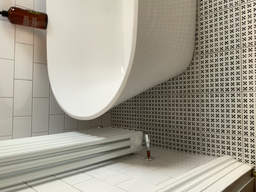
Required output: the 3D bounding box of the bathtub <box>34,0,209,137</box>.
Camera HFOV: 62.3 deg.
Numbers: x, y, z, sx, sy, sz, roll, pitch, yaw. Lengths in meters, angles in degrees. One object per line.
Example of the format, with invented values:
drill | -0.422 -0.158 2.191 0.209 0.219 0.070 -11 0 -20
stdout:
bathtub | -0.060 -0.730 1.130 0.770 0.540 1.720 0 89 44
